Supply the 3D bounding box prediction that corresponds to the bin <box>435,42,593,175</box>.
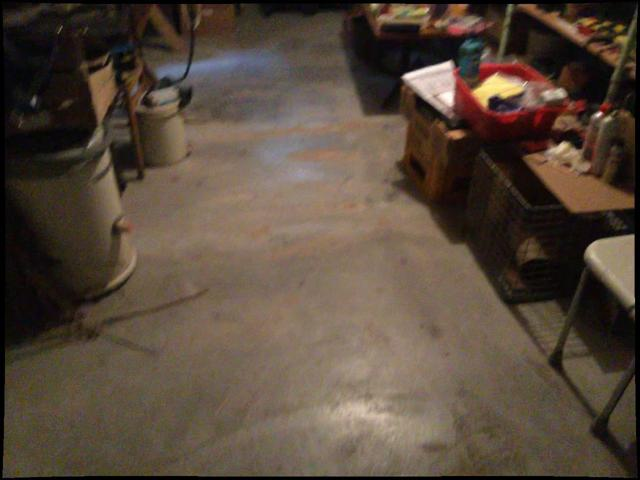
[{"bbox_3d":[0.749,-0.541,2.330,0.410,0.350,0.420,-7,38,-8],"label":"bin"}]
